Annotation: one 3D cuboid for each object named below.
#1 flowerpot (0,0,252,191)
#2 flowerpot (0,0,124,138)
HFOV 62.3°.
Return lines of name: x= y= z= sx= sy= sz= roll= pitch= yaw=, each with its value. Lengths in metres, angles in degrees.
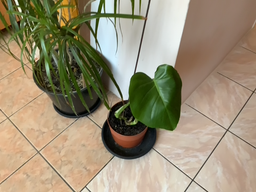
flowerpot: x=-0.040 y=-0.030 z=0.720 sx=0.400 sy=1.020 sz=0.450 roll=-37 pitch=61 yaw=-24
flowerpot: x=-0.270 y=-0.280 z=0.860 sx=0.330 sy=1.010 sz=0.370 roll=38 pitch=62 yaw=25
